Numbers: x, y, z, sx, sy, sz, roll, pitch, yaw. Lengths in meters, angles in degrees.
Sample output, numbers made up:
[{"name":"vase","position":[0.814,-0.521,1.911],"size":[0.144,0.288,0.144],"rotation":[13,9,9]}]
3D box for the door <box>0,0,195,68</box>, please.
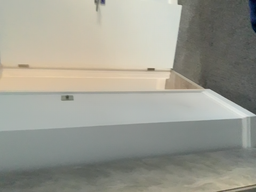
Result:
[{"name":"door","position":[-0.260,-0.720,2.340],"size":[0.090,2.110,0.750],"rotation":[-133,45,-65]}]
